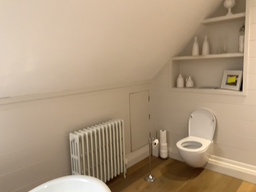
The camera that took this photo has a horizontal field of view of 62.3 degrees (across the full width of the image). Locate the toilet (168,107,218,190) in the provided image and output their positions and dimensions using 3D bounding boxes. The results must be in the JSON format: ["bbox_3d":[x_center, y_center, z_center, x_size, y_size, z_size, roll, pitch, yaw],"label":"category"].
[{"bbox_3d":[0.880,0.660,2.880,0.390,0.870,0.630,7,13,43],"label":"toilet"}]

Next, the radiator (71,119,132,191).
[{"bbox_3d":[-0.300,0.720,2.670,0.790,0.690,0.170,-9,12,-43],"label":"radiator"}]
